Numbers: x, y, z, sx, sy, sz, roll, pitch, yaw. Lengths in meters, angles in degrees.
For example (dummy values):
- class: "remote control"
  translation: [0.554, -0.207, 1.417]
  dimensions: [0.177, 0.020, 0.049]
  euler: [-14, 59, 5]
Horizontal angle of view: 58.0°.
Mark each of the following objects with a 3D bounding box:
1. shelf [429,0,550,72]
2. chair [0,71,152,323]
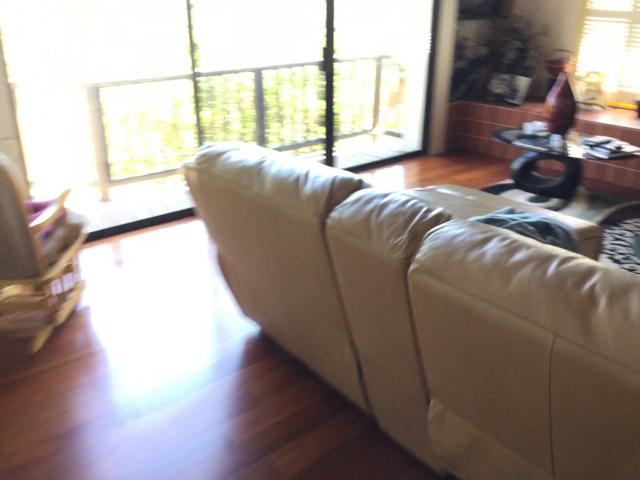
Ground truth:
- class: "shelf"
  translation: [1.580, -2.600, 5.170]
  dimensions: [0.950, 2.000, 0.590]
  euler: [-17, 27, -34]
- class: "chair"
  translation: [-1.340, -0.260, 2.820]
  dimensions: [0.640, 0.990, 0.890]
  euler: [0, 22, 3]
